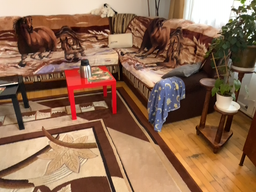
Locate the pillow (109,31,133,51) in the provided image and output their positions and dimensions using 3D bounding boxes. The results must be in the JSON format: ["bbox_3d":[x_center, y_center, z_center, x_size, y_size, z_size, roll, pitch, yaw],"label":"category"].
[{"bbox_3d":[-0.120,-0.940,3.640,0.400,0.310,0.120,-3,9,0],"label":"pillow"}]

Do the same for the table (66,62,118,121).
[{"bbox_3d":[-0.480,-0.090,2.740,0.550,0.450,0.680,-7,29,-15],"label":"table"}]
